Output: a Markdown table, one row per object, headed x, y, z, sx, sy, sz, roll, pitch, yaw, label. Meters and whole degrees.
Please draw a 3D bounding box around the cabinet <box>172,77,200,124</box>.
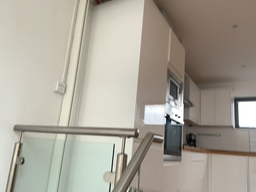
| x | y | z | sx | sy | sz | roll | pitch | yaw | label |
| --- | --- | --- | --- | --- | --- | --- | --- | --- | --- |
| 1.230 | 0.120 | 4.430 | 0.340 | 0.820 | 0.740 | -3 | -15 | 32 | cabinet |
